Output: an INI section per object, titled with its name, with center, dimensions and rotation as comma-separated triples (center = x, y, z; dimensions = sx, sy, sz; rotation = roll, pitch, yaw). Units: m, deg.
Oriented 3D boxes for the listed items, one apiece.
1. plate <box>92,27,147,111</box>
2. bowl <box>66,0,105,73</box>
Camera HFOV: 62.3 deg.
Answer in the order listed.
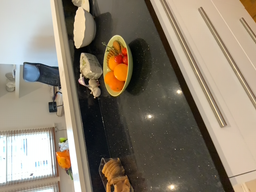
[plate]
center = -0.050, -0.100, 0.870
dimensions = 0.260, 0.080, 0.220
rotation = -55, 45, 46
[bowl]
center = -0.260, -0.370, 1.220
dimensions = 0.250, 0.100, 0.400
rotation = -51, 47, 49
